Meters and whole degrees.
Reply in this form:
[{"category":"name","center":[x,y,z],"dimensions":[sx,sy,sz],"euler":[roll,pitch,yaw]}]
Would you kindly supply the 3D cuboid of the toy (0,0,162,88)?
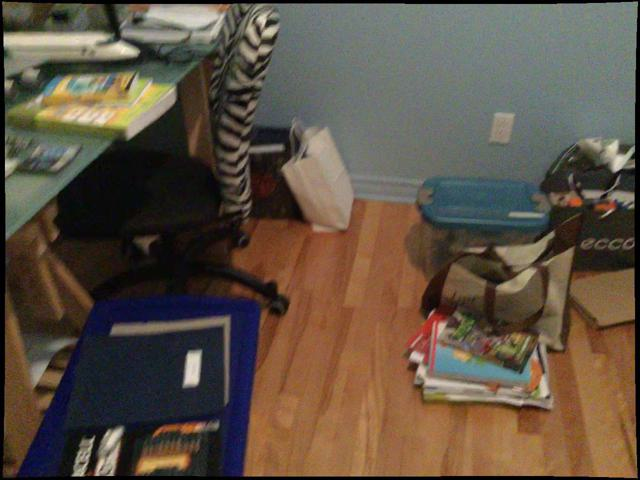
[{"category":"toy","center":[-0.759,-0.531,1.520],"dimensions":[0.569,0.100,0.420],"euler":[0,37,2]}]
